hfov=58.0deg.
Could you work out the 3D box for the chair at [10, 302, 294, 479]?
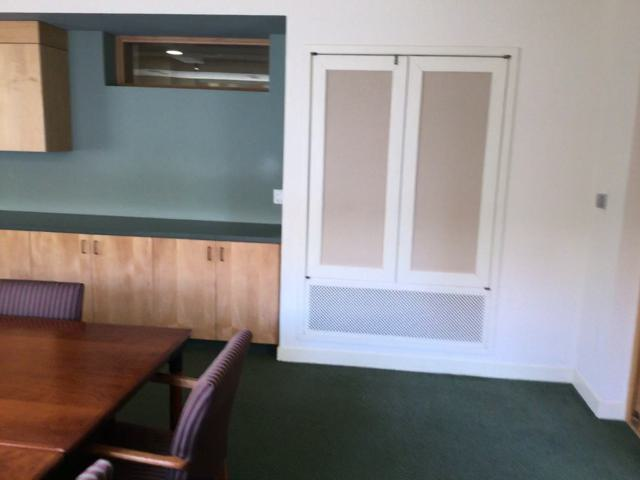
[{"bbox_3d":[-0.490,0.720,1.930,0.700,0.830,0.650,4,10,3],"label":"chair"}]
